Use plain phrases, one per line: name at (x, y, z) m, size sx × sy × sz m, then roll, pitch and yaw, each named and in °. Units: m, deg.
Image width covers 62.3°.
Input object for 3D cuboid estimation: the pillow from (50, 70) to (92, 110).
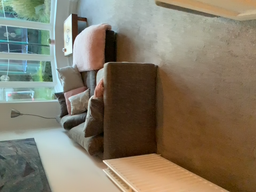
pillow at (-0.970, -0.110, 3.670) m, size 0.430 × 0.510 × 0.220 m, roll 39°, pitch 160°, yaw 18°
